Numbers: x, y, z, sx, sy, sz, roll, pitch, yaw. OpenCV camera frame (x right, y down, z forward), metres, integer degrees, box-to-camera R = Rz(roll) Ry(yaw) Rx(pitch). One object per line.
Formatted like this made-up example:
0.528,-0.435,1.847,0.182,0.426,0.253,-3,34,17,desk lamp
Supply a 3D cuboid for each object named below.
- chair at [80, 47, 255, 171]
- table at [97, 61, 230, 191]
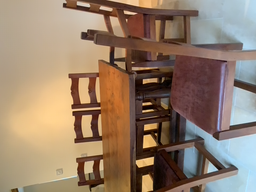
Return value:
0.320,-0.020,1.150,0.420,1.060,0.450,-143,51,-65,chair
0.210,0.670,2.080,0.890,0.790,1.870,-141,49,-64,table
